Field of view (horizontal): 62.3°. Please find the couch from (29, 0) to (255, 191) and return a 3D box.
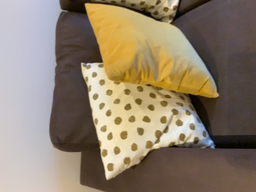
[{"bbox_3d":[0.240,-0.420,1.000,1.020,0.870,1.660,-14,71,48],"label":"couch"}]
